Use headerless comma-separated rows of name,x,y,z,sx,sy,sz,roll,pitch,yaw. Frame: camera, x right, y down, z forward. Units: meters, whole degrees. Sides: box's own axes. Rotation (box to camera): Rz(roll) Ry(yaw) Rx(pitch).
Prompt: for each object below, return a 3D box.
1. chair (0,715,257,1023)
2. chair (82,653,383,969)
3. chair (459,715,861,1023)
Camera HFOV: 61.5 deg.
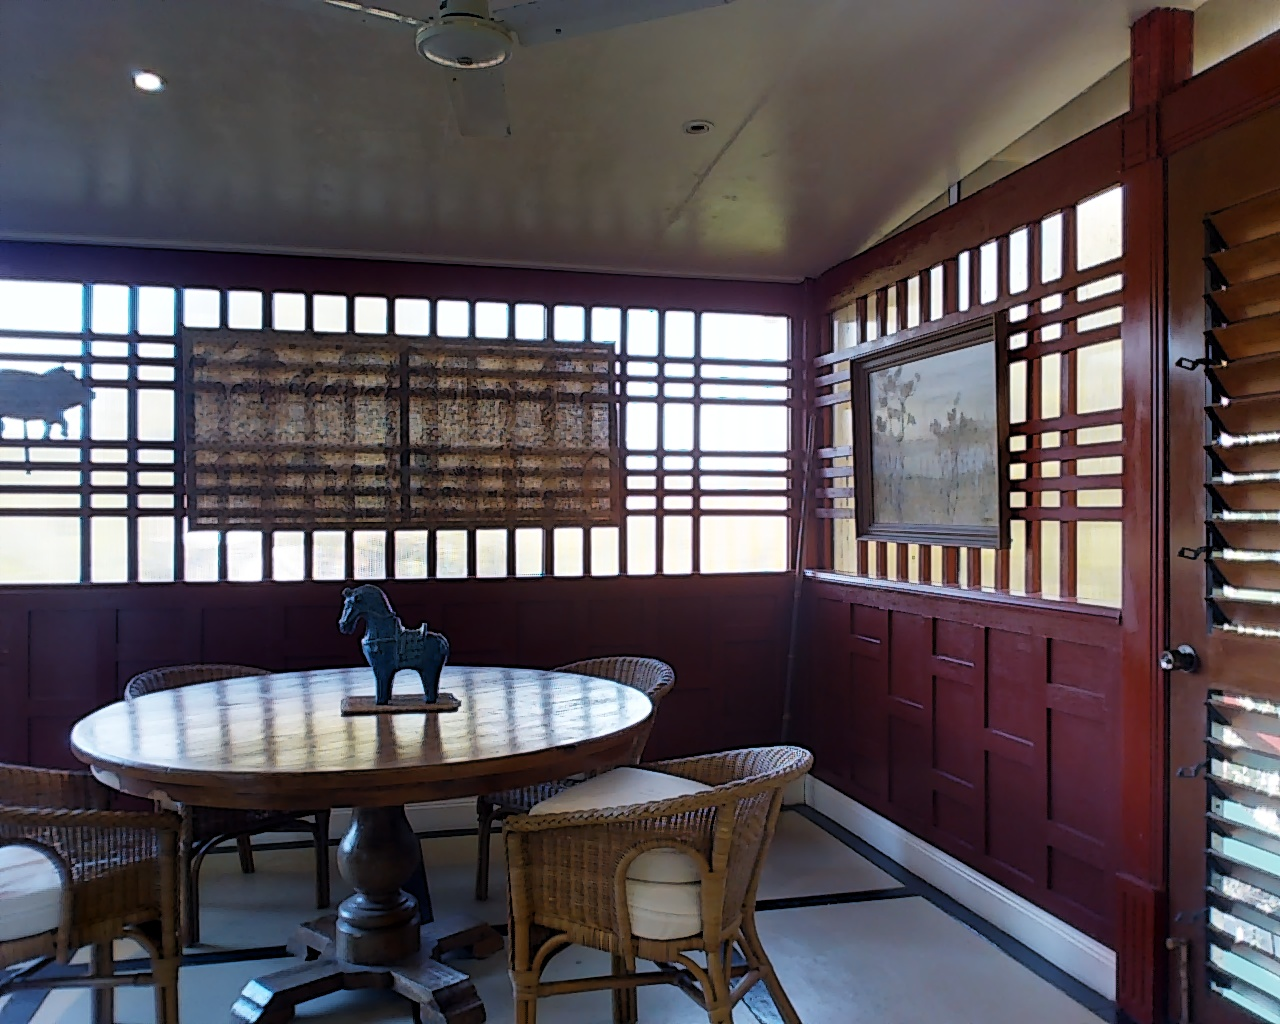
chair,-1.340,0.920,2.400,0.710,0.760,0.660,0,-1,-42
chair,-1.380,0.930,3.620,0.820,0.770,0.660,1,0,45
chair,0.060,0.920,2.440,0.700,0.760,0.610,0,-1,31
